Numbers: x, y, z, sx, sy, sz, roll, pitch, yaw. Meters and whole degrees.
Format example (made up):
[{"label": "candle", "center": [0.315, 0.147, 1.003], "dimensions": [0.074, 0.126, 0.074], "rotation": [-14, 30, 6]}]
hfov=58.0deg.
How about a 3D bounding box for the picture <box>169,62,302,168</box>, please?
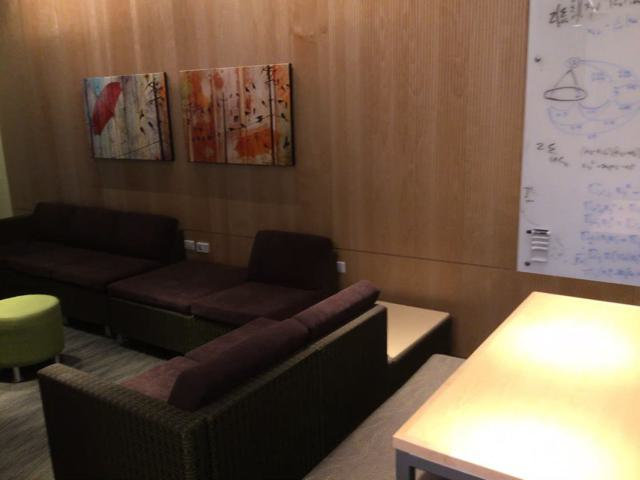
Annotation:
[{"label": "picture", "center": [-0.560, -0.800, 3.760], "dimensions": [0.940, 0.620, 0.130], "rotation": [6, 15, 30]}]
